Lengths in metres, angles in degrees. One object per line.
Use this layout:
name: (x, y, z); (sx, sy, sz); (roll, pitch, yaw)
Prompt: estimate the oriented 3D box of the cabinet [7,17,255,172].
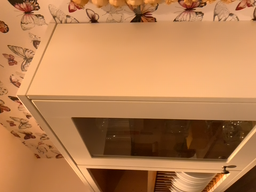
cabinet: (0.110, 0.040, 0.840); (0.570, 0.800, 0.320); (85, -173, -54)
